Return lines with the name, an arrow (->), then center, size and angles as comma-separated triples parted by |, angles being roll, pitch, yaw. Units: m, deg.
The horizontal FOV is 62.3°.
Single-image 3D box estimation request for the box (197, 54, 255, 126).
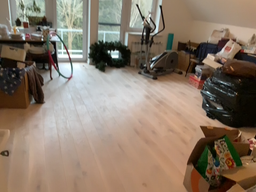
box -> 1.770, -0.130, 3.270 | 0.920, 0.850, 0.730 | -2, 24, -20
